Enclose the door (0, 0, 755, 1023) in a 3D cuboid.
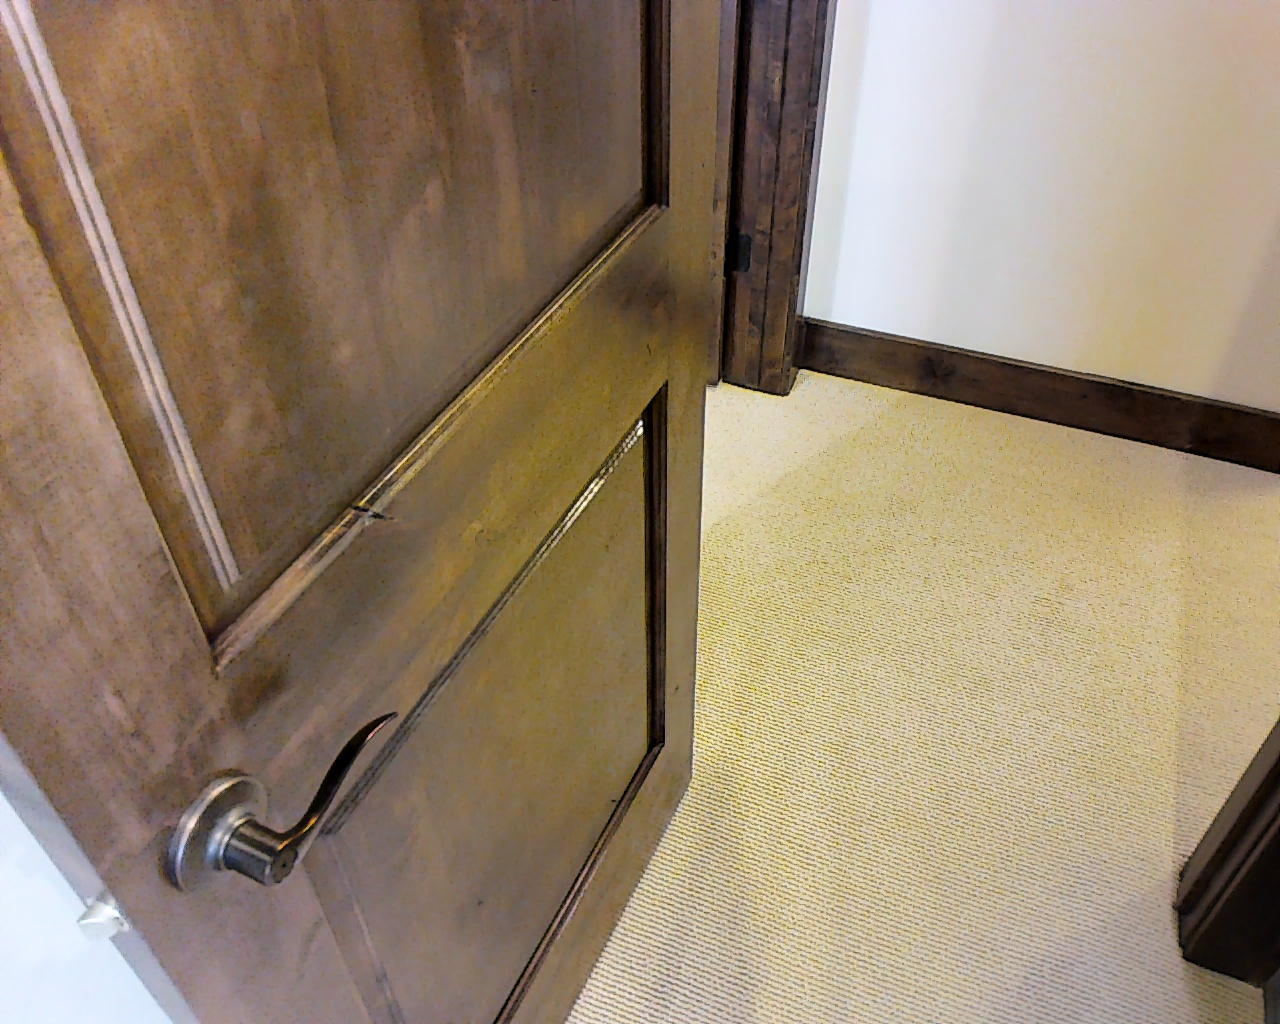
[{"bbox_3d":[-0.110,-0.300,0.540,0.110,2.520,0.800,16,45,17],"label":"door"}]
